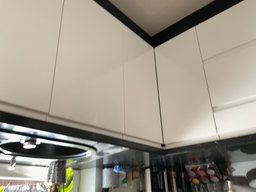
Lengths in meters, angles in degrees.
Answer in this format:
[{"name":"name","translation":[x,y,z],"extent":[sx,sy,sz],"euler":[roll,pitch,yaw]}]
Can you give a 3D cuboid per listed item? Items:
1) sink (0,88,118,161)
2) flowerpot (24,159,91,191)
[{"name":"sink","translation":[-0.350,0.190,1.130],"extent":[0.340,0.220,0.500],"euler":[-21,149,36]},{"name":"flowerpot","translation":[-0.470,0.620,1.430],"extent":[0.260,0.320,0.330],"euler":[-20,149,35]}]
